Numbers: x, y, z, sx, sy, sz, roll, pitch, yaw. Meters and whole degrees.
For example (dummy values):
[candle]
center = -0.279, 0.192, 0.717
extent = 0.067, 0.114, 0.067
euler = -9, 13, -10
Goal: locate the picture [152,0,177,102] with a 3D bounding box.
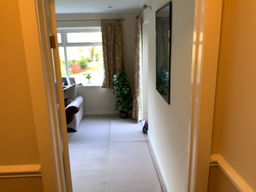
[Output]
[picture]
center = 0.400, -0.530, 2.460
extent = 0.070, 1.030, 0.780
euler = -1, 14, -4

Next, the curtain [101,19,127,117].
[curtain]
center = -0.310, -0.610, 4.970
extent = 0.540, 2.240, 0.190
euler = -1, 14, -1

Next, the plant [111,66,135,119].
[plant]
center = -0.110, -0.090, 4.920
extent = 0.510, 1.130, 0.510
euler = -1, 14, -1
